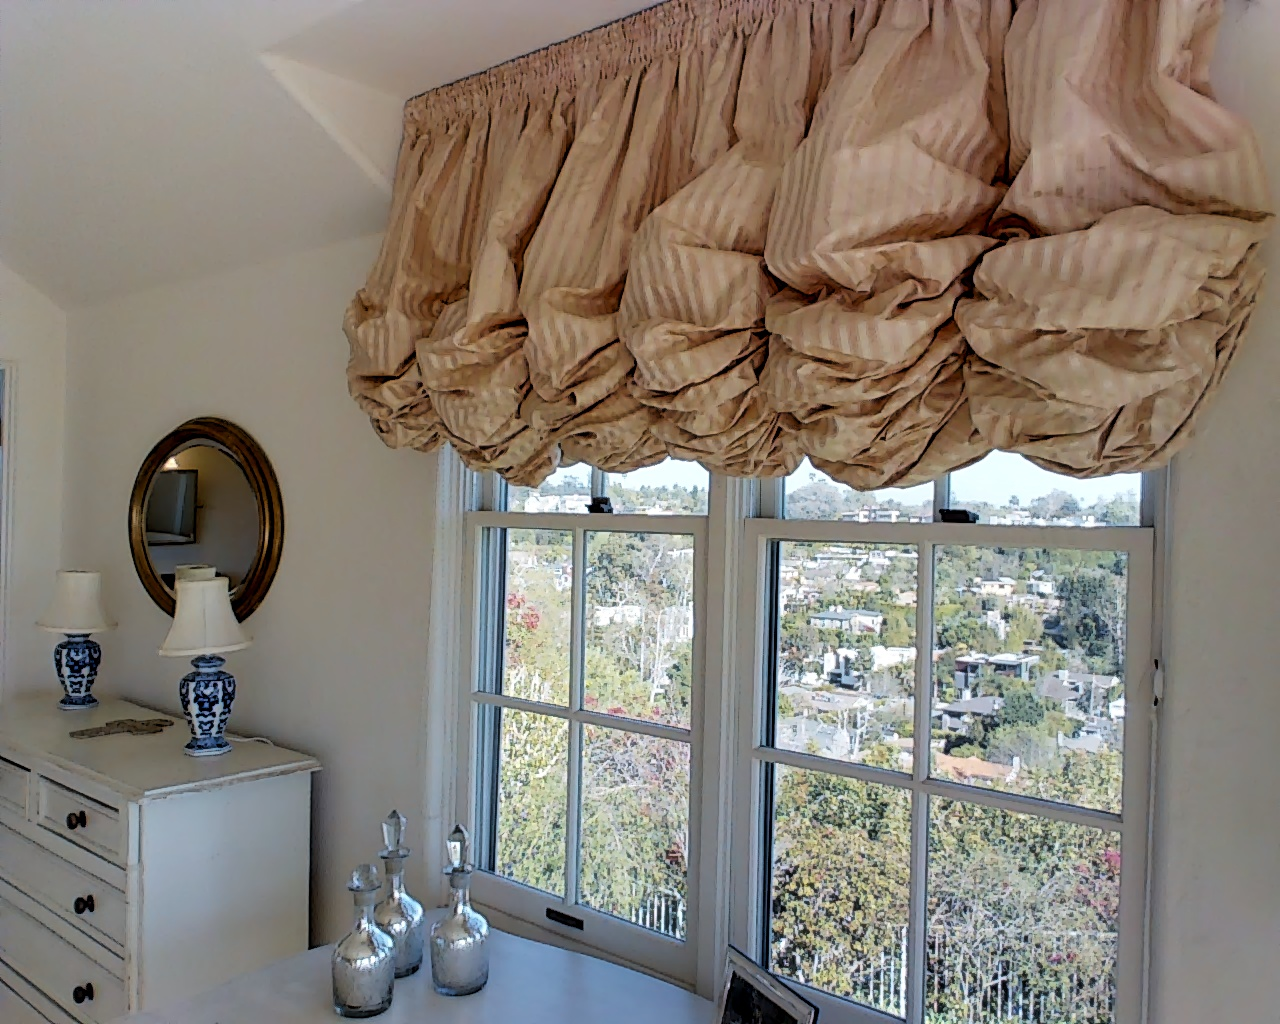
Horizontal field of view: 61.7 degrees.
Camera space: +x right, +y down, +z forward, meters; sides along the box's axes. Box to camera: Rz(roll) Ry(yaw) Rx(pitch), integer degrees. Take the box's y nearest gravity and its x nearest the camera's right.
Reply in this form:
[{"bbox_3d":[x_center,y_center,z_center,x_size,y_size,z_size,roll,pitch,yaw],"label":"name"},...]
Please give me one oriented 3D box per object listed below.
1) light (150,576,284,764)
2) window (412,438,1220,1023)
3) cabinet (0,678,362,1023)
[{"bbox_3d":[-1.030,0.370,2.610,0.270,0.410,0.190,1,0,40],"label":"light"},{"bbox_3d":[0.150,0.400,1.870,1.490,1.000,0.200,1,0,41],"label":"window"},{"bbox_3d":[-1.360,1.050,2.780,1.370,1.030,0.520,1,0,40],"label":"cabinet"}]
